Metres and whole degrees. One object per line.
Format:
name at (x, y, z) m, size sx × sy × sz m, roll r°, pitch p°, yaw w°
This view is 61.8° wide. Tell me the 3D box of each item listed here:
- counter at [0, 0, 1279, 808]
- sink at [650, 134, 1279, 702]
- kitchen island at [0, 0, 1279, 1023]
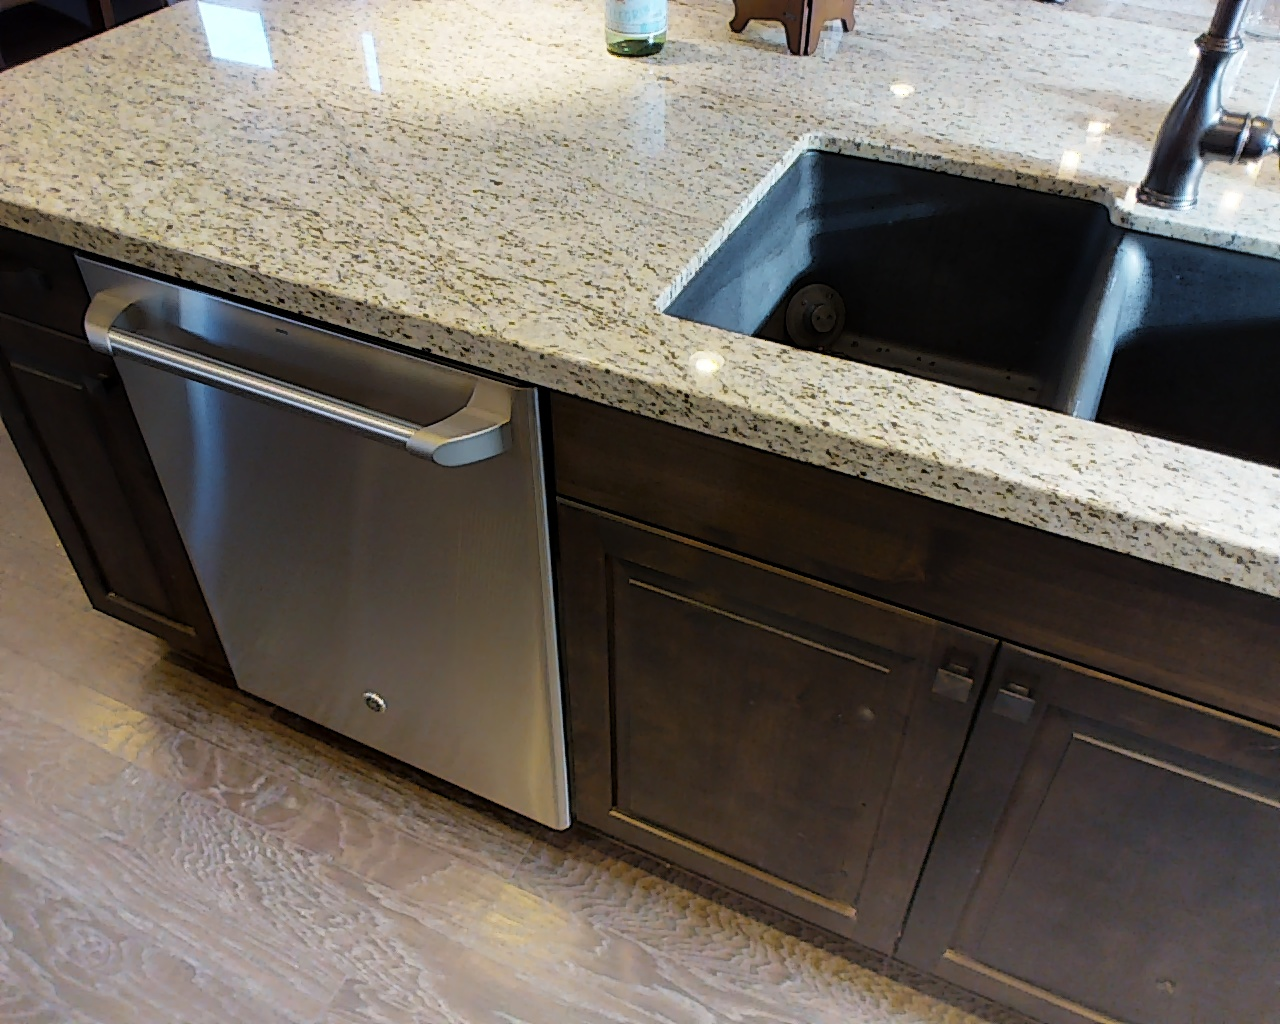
counter at (0.620, -0.420, 1.450) m, size 2.790 × 0.290 × 1.600 m, roll 17°, pitch 45°, yaw 18°
sink at (0.450, -0.120, 1.110) m, size 0.770 × 0.260 × 0.420 m, roll 17°, pitch 45°, yaw 18°
kitchen island at (0.450, 0.070, 1.390) m, size 2.770 × 0.910 × 0.920 m, roll 17°, pitch 45°, yaw 18°
